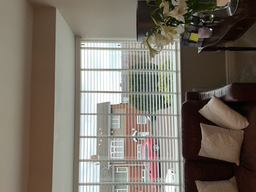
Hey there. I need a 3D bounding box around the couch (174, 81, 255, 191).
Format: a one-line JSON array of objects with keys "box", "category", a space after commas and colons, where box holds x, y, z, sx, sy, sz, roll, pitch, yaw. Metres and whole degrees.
[{"box": [1.020, 0.700, 2.200, 1.090, 0.800, 1.590, 119, 150, -87], "category": "couch"}]

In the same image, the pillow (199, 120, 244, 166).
[{"box": [0.930, 0.450, 2.130, 0.270, 0.380, 0.390, 0, -92, -68], "category": "pillow"}]

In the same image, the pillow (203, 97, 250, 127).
[{"box": [0.950, 0.150, 2.100, 0.420, 0.340, 0.260, 8, -98, -76], "category": "pillow"}]
